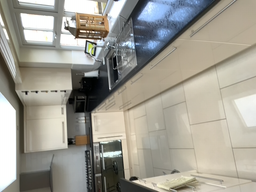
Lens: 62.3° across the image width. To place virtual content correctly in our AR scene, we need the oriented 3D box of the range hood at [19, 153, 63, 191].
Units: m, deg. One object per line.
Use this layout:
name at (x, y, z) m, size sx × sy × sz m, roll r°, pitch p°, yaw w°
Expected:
range hood at (-1.710, 1.610, 4.200) m, size 0.570 × 0.750 × 0.860 m, roll 145°, pitch 121°, yaw -65°

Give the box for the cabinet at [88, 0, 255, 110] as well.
cabinet at (0.240, -0.420, 2.830) m, size 3.760 × 0.850 × 0.640 m, roll 149°, pitch 117°, yaw -66°
